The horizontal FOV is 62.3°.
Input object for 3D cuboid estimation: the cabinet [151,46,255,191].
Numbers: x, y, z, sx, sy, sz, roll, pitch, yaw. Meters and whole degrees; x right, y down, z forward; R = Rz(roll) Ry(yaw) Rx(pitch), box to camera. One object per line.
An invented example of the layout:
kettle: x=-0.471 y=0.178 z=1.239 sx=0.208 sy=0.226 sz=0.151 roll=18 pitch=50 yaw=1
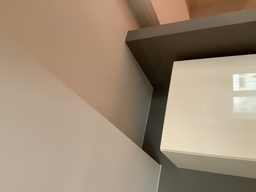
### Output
cabinet: x=0.590 y=0.130 z=1.280 sx=0.430 sy=0.680 sz=0.710 roll=52 pitch=-134 yaw=-49
